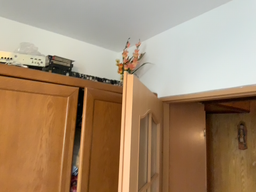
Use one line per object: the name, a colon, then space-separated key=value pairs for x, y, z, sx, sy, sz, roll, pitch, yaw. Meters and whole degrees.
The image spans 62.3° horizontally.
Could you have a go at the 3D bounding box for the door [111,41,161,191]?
door: x=0.060 y=0.940 z=1.090 sx=0.060 sy=2.230 sz=0.810 roll=0 pitch=-9 yaw=17
